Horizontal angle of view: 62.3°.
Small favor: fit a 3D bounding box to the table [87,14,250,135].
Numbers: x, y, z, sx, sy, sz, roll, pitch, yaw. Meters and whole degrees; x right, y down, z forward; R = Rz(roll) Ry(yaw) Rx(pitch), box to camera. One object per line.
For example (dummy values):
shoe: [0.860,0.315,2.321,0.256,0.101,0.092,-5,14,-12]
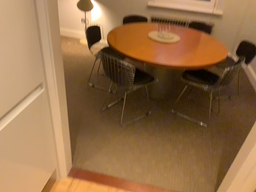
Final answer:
table: [0.470,-0.480,3.020,1.590,0.740,1.820,9,34,4]
